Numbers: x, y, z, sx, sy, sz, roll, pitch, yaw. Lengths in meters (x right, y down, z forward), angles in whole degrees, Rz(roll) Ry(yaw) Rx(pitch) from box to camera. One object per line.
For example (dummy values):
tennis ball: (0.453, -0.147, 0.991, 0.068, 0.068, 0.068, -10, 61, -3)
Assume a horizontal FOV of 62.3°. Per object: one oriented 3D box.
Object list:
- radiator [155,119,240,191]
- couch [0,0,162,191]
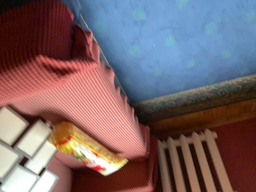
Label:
radiator: (0.540, 0.560, 1.770, 0.510, 0.620, 0.200, -16, 140, 13)
couch: (-0.480, 0.290, 1.320, 1.030, 0.830, 1.450, -15, 140, 12)
